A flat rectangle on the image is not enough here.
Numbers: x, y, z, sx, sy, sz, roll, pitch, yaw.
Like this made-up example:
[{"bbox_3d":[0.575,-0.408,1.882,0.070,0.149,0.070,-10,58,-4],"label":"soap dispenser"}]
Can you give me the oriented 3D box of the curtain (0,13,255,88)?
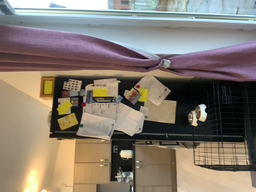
[{"bbox_3d":[0.070,-0.250,1.410,0.530,2.220,0.320,165,107,-86],"label":"curtain"}]
